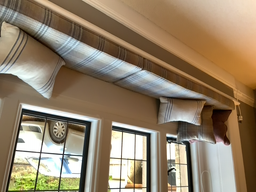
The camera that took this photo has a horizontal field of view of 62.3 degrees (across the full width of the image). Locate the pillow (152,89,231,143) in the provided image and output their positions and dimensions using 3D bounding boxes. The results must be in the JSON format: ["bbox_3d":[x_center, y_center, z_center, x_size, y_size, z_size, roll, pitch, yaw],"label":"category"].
[{"bbox_3d":[0.640,0.240,2.100,0.810,0.340,0.360,18,155,-39],"label":"pillow"}]
